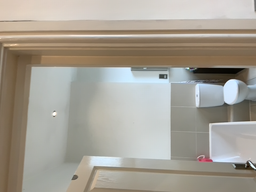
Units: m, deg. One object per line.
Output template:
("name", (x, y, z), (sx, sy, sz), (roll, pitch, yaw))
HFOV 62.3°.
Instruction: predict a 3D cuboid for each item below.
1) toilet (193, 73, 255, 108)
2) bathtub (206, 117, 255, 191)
("toilet", (1.460, -0.060, 3.190), (0.670, 0.790, 0.400), (61, -150, -81))
("bathtub", (1.500, 0.650, 2.580), (1.700, 0.570, 0.700), (61, -150, -81))
